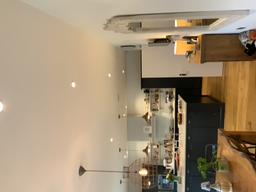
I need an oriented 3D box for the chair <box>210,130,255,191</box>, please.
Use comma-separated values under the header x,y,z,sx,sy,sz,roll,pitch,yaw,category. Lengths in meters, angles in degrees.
x,y,z,sx,sy,sz,roll,pitch,yaw,category
1.580,0.800,2.640,0.540,0.910,0.570,-59,-31,-79,chair
